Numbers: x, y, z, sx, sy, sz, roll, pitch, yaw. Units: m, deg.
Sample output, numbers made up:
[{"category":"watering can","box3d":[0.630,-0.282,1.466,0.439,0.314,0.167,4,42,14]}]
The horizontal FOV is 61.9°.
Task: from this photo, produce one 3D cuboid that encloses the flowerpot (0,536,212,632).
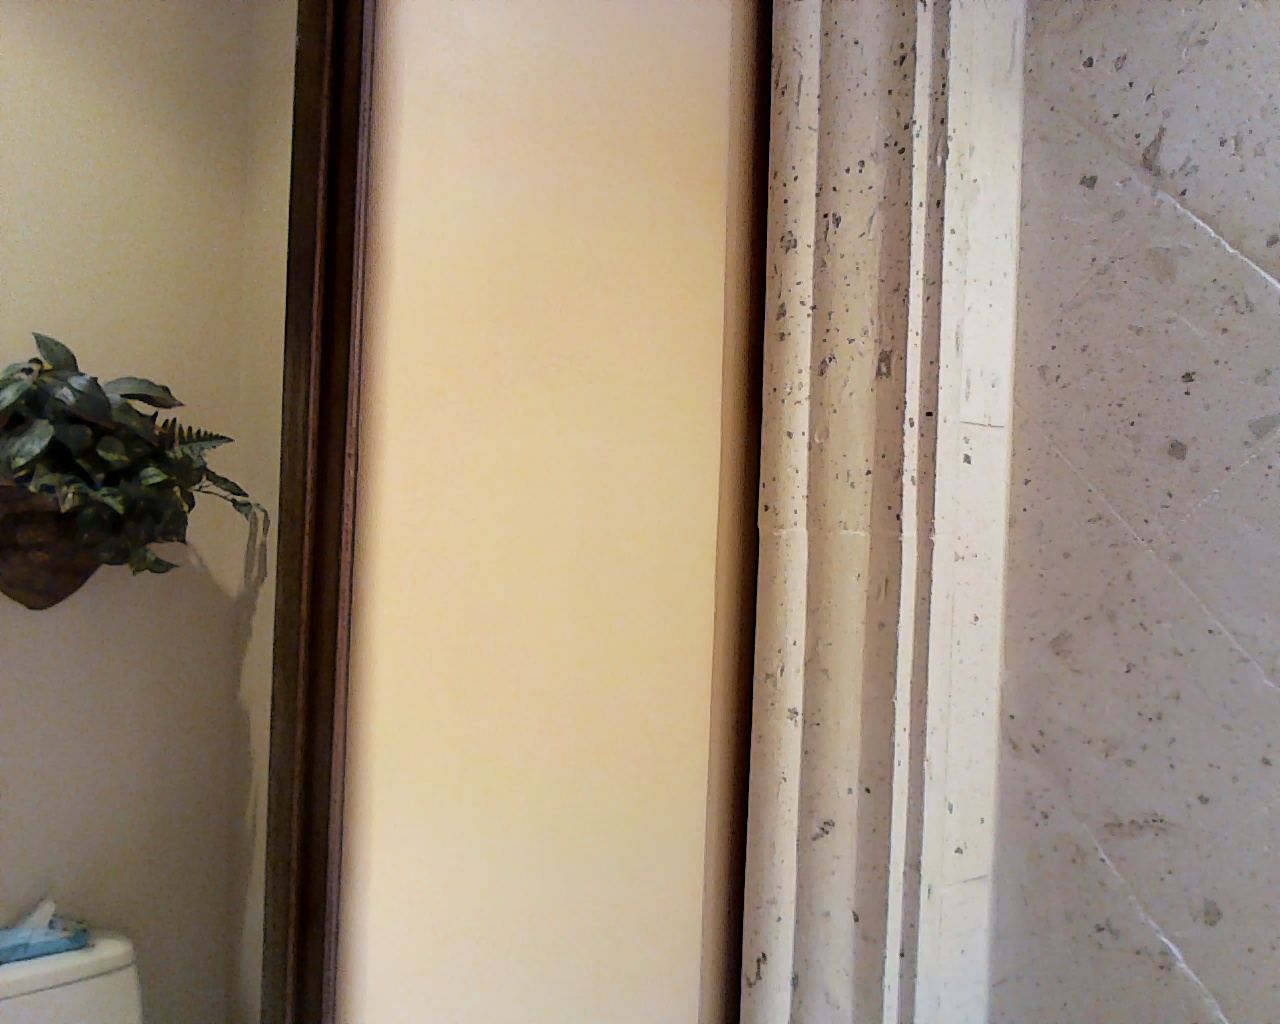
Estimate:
[{"category":"flowerpot","box3d":[-1.060,0.130,2.010,0.440,0.160,0.160,2,0,-40]}]
